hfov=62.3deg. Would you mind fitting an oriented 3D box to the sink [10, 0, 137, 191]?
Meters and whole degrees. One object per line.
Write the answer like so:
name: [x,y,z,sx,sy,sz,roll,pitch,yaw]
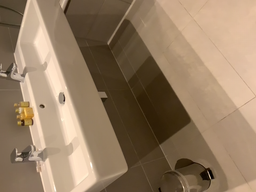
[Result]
sink: [-0.360,-0.030,1.030,0.470,0.160,1.030,-48,57,38]
